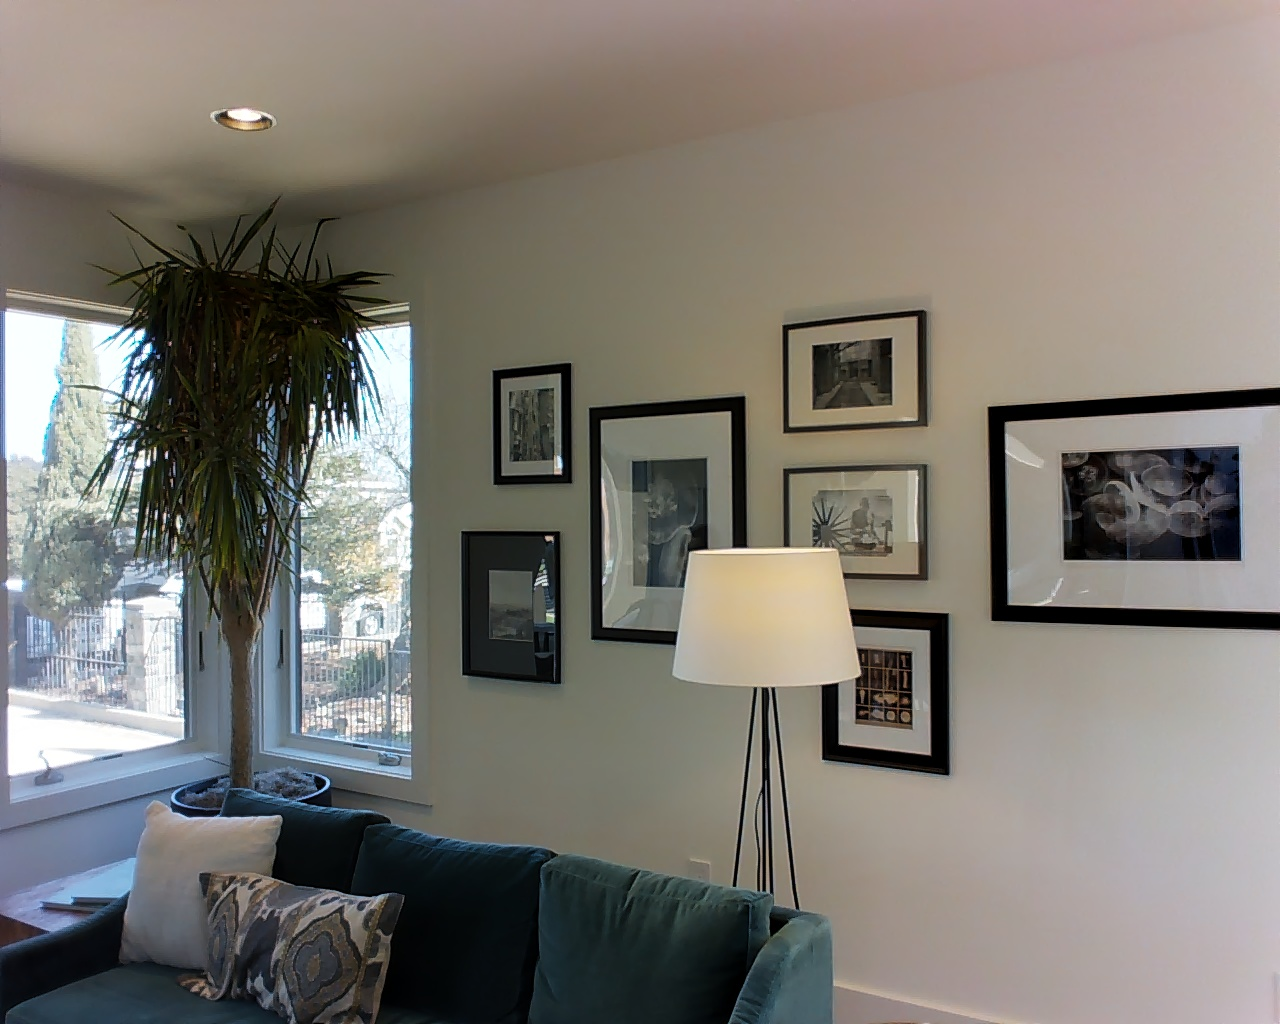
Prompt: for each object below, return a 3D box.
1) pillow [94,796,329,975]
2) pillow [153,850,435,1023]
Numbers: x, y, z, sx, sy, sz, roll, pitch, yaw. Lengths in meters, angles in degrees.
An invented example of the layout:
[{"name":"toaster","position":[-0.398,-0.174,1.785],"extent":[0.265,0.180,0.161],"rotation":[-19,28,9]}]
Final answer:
[{"name":"pillow","position":[-1.120,0.980,2.830],"extent":[0.450,0.370,0.230],"rotation":[-6,15,16]},{"name":"pillow","position":[-0.830,1.040,2.560],"extent":[0.620,0.270,0.230],"rotation":[-1,24,33]}]
